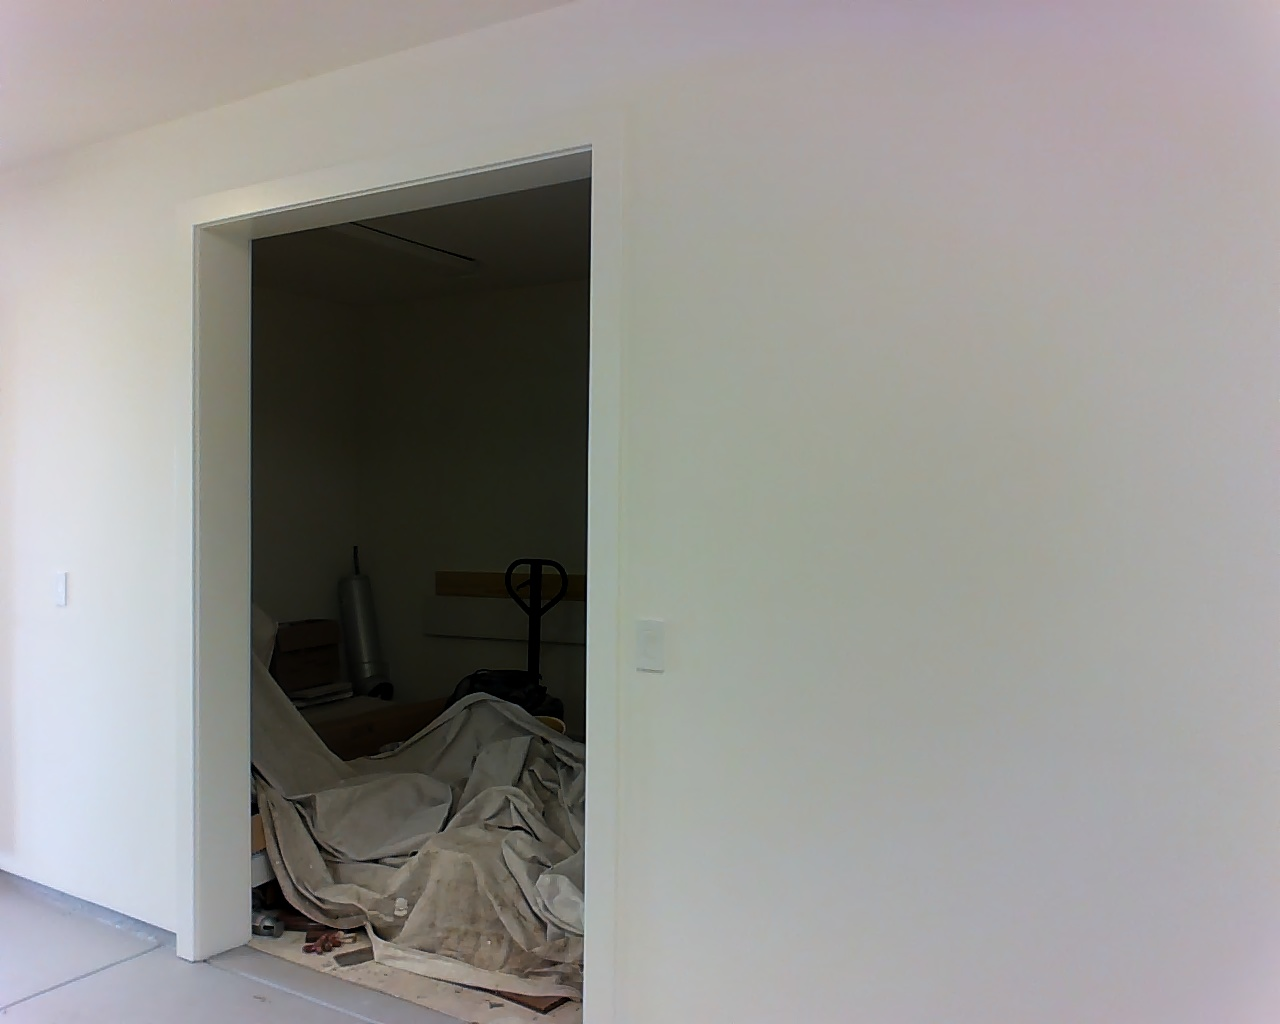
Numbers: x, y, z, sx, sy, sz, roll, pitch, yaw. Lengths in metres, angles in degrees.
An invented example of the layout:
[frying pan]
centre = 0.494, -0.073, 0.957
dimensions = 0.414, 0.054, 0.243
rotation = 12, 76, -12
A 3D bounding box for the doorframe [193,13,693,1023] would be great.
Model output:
[doorframe]
centre = -0.660, 0.130, 3.190
dimensions = 1.680, 2.690, 0.320
rotation = 1, 1, 32
